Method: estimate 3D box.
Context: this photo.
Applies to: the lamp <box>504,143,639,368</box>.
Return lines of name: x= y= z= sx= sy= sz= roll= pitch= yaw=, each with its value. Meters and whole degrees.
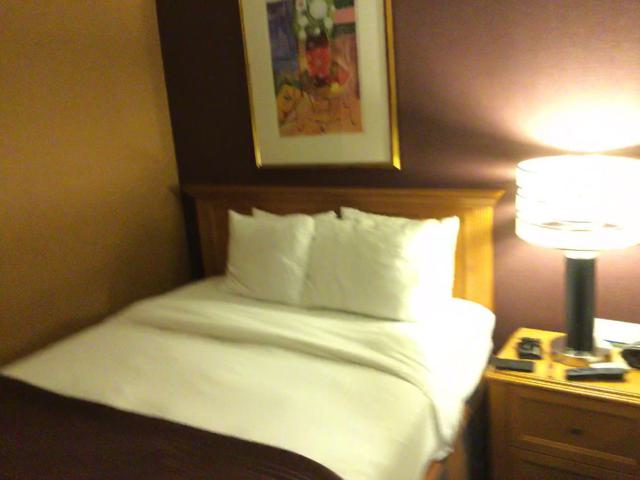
lamp: x=0.900 y=0.020 z=1.990 sx=0.400 sy=0.650 sz=0.440 roll=3 pitch=14 yaw=32

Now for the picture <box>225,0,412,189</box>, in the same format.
picture: x=-0.030 y=-0.760 z=2.520 sx=0.830 sy=1.060 sz=0.090 roll=3 pitch=14 yaw=32
